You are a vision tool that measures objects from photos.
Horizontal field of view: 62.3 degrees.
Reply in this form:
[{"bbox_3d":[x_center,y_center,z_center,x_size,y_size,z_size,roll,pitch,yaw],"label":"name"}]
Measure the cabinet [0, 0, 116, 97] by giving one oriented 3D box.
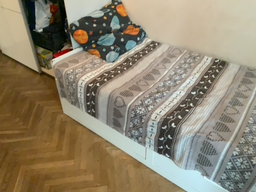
[{"bbox_3d":[-1.090,-1.360,2.290,1.870,2.170,0.650,25,44,28],"label":"cabinet"}]
